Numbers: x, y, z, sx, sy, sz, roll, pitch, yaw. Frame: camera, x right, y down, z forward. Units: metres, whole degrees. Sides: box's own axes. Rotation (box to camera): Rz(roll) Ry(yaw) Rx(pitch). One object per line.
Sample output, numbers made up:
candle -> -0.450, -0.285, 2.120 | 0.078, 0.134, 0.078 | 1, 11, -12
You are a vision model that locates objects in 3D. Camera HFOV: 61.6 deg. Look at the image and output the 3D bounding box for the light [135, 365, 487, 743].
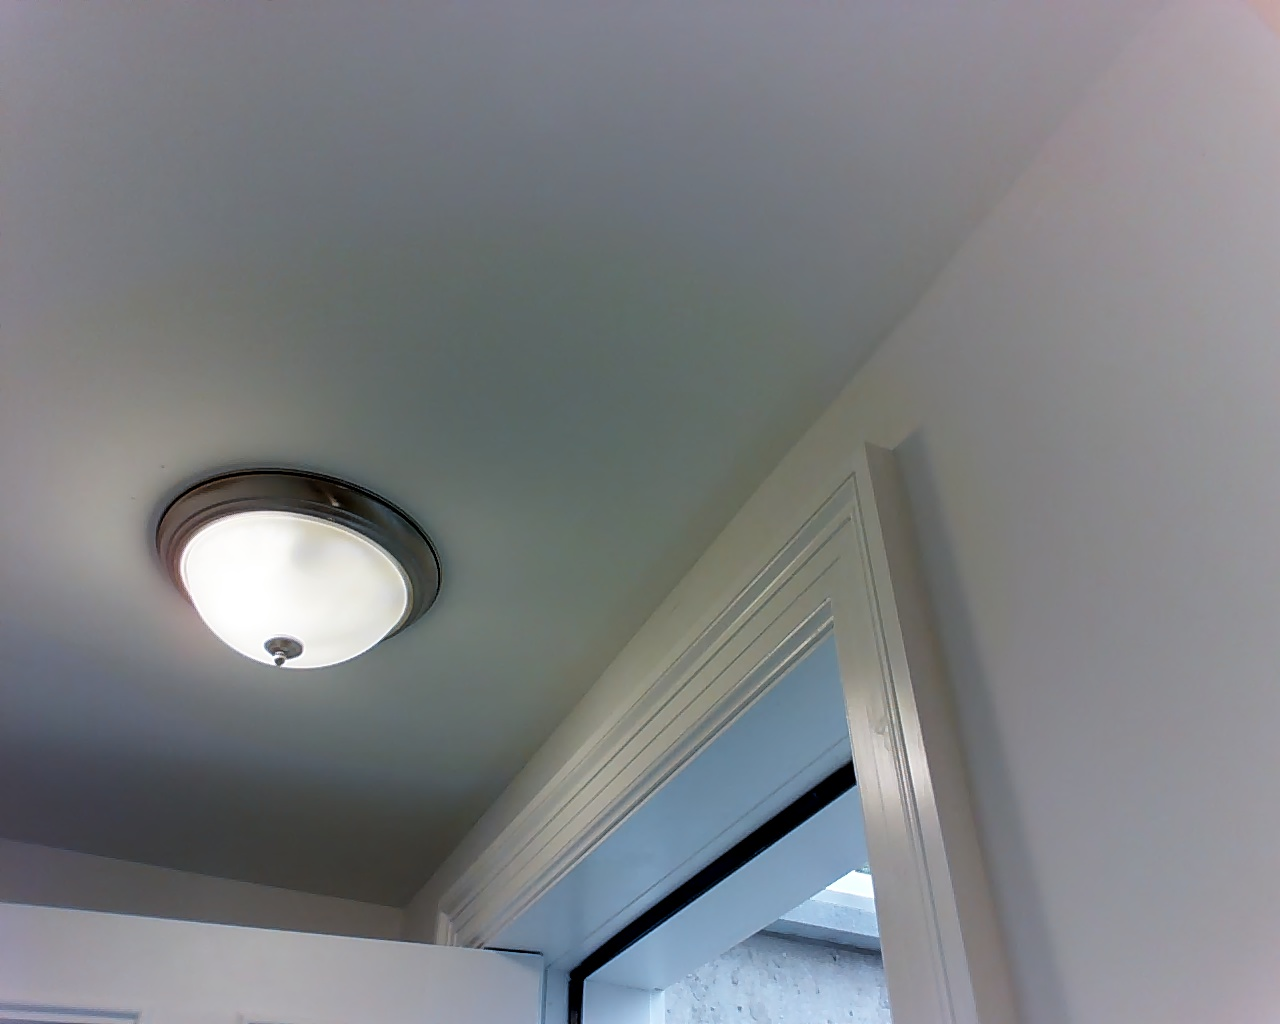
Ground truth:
light -> -0.400, 0.070, 1.250 | 0.350, 0.380, 0.050 | 34, 42, -3
